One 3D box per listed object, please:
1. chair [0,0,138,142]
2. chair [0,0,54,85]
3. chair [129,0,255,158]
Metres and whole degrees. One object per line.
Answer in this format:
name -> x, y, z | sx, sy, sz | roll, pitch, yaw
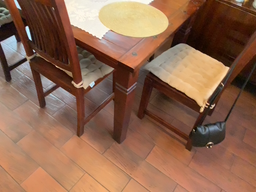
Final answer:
chair -> -0.360, -0.300, 1.350 | 0.560, 1.010, 0.530 | 31, 52, 18
chair -> -1.050, -0.720, 1.620 | 0.580, 1.010, 0.540 | 31, 52, 18
chair -> 0.430, -0.170, 1.350 | 0.550, 1.000, 0.490 | 38, 54, 23
